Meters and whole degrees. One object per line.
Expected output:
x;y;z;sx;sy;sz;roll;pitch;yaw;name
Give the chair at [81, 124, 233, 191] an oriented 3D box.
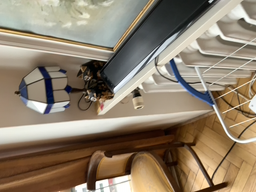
0.170;0.570;1.440;0.490;0.780;0.460;57;136;39;chair
